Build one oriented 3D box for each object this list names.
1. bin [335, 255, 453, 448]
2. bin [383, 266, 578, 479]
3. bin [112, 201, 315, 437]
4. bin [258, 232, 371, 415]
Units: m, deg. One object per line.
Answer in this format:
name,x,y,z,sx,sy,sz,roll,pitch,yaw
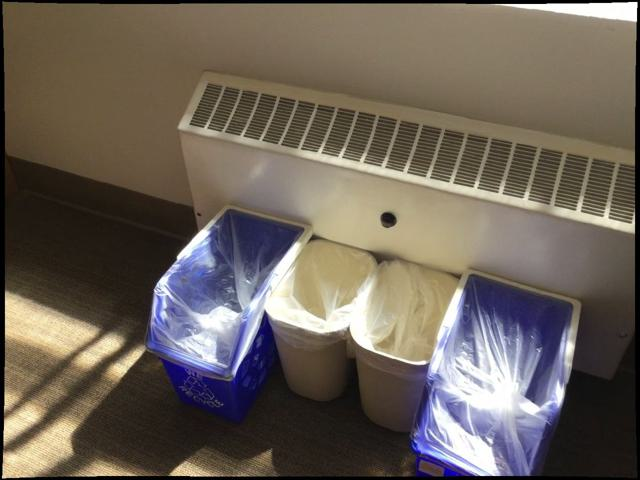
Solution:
bin,0.180,0.271,1.410,0.190,0.330,0.280,14,44,18
bin,0.349,0.351,1.270,0.299,0.340,0.410,14,44,18
bin,-0.239,0.190,1.500,0.299,0.351,0.420,14,44,18
bin,0.000,0.211,1.470,0.170,0.330,0.280,14,44,19
